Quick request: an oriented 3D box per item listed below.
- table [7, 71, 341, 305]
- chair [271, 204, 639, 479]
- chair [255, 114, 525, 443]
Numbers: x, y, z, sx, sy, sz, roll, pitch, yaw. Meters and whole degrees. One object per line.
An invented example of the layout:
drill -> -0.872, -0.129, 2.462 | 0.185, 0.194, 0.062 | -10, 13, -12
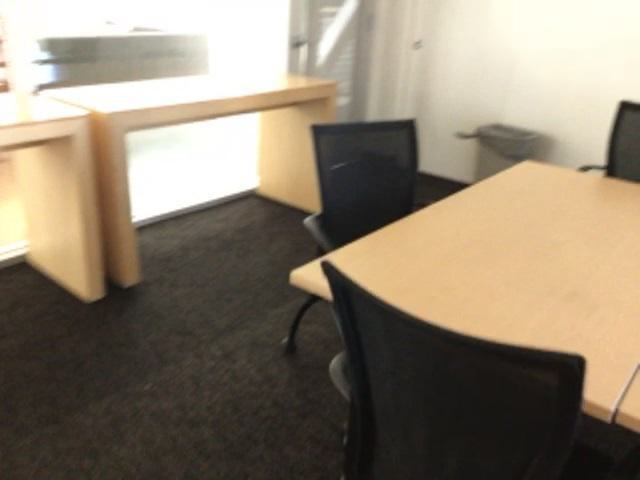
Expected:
table -> -0.640, -0.380, 3.050 | 0.710, 0.920, 1.540 | 12, 18, 36
chair -> 0.340, 0.410, 1.220 | 0.550, 0.780, 0.700 | 18, 22, 34
chair -> 0.190, 0.070, 1.970 | 0.590, 0.900, 0.560 | -6, 21, -31
